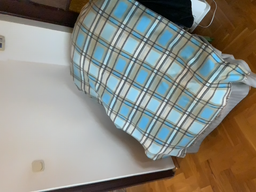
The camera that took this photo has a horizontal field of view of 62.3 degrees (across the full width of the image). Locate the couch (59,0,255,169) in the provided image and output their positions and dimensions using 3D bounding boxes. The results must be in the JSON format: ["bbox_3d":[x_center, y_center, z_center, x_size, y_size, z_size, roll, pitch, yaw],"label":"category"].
[{"bbox_3d":[0.150,-0.150,1.600,0.890,1.010,0.900,-60,41,37],"label":"couch"}]
